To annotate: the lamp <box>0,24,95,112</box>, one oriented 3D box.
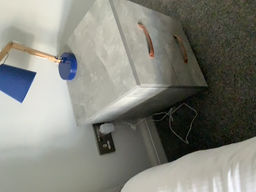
[{"bbox_3d":[-0.340,-0.090,0.800,0.190,0.330,0.230,-34,67,42],"label":"lamp"}]
